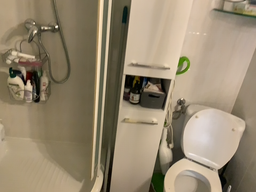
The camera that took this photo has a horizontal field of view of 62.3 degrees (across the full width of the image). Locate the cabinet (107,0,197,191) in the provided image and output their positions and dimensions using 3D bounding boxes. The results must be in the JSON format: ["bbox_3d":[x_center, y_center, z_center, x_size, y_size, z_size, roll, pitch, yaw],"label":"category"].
[{"bbox_3d":[0.100,-0.090,1.410,0.320,1.830,0.380,6,27,-5],"label":"cabinet"}]

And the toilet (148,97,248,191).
[{"bbox_3d":[0.450,0.510,1.470,0.360,0.800,0.570,23,30,27],"label":"toilet"}]
